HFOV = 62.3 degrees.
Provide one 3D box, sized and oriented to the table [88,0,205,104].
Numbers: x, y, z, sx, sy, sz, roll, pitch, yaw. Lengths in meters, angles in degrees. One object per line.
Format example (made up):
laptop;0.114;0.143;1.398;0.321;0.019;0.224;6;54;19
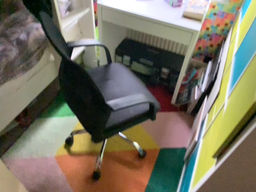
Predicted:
table;0.150;-0.500;1.850;0.740;0.740;0.590;20;50;13

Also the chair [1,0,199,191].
chair;-0.160;-0.030;1.270;0.650;0.900;0.600;-27;56;-26
